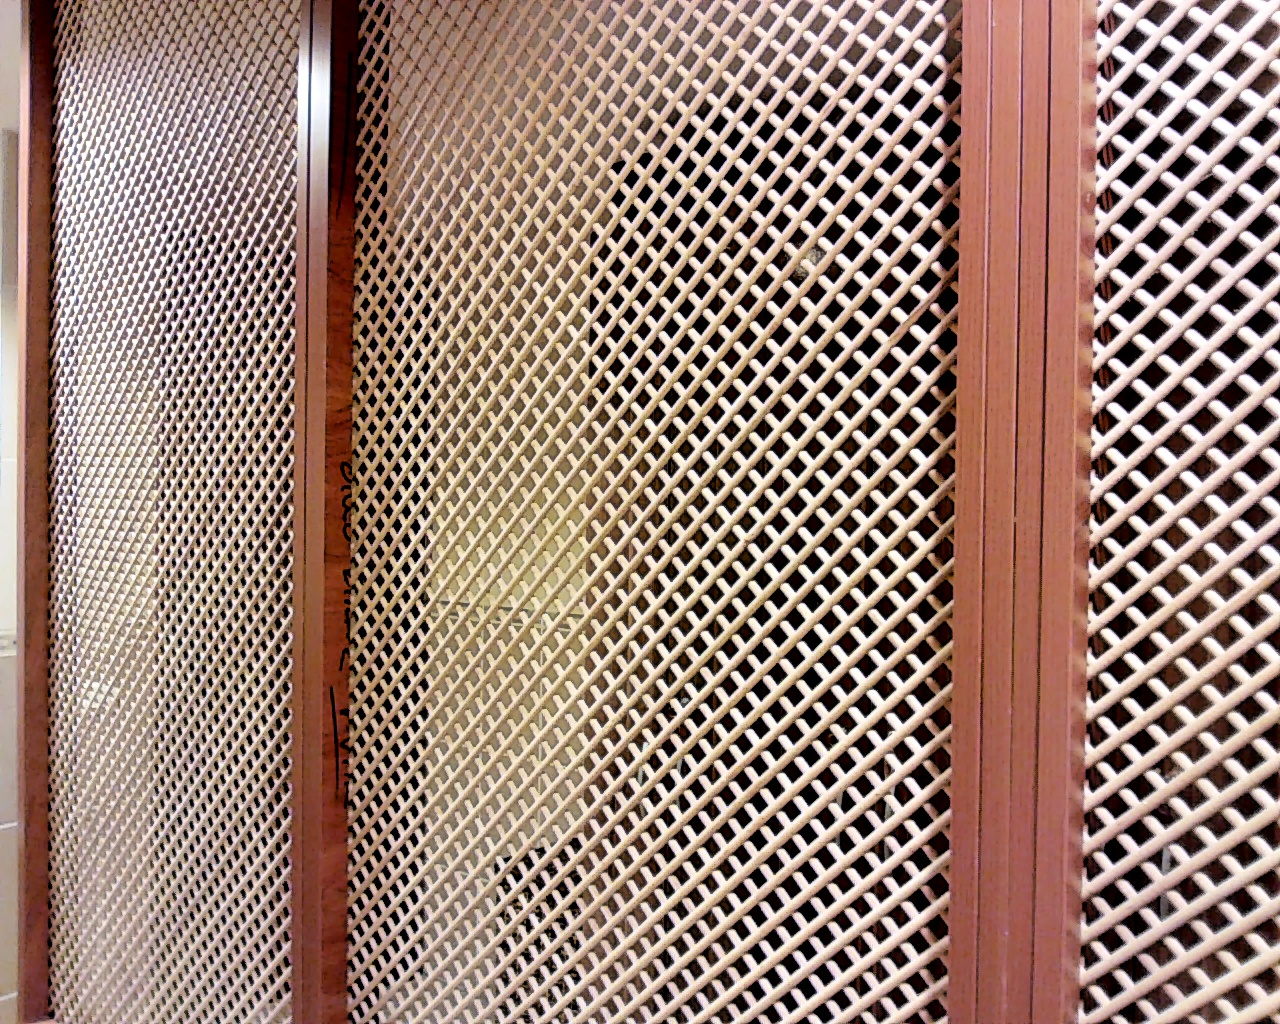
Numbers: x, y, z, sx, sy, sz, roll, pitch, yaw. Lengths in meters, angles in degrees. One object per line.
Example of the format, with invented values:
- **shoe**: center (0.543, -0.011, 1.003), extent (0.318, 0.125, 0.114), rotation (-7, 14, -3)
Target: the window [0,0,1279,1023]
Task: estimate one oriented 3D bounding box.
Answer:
- **window**: center (0.150, 0.030, 0.780), extent (2.770, 1.700, 0.120), rotation (1, 0, 37)
